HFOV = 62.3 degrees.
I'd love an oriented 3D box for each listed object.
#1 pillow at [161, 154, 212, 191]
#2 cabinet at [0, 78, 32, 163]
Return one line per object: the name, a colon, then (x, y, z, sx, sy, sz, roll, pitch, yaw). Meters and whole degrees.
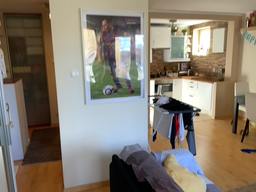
pillow: (0.480, 0.730, 1.800, 0.360, 0.230, 0.490, 2, 11, 14)
cabinet: (-1.880, 0.340, 3.510, 0.340, 1.190, 0.790, -4, 11, -18)
